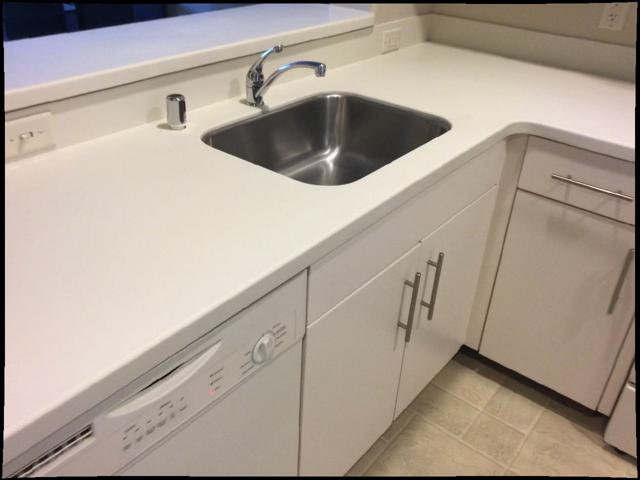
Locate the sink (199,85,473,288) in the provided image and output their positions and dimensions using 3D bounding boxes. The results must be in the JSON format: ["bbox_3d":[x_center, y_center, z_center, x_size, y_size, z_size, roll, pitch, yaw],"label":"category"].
[{"bbox_3d":[0.050,-0.180,1.500,0.469,0.240,0.520,24,38,31],"label":"sink"}]

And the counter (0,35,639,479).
[{"bbox_3d":[0.888,0.160,0.830,3.016,0.090,2.189,24,38,31],"label":"counter"}]

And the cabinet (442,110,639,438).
[{"bbox_3d":[0.688,0.120,1.720,0.539,0.902,0.090,24,38,31],"label":"cabinet"}]
